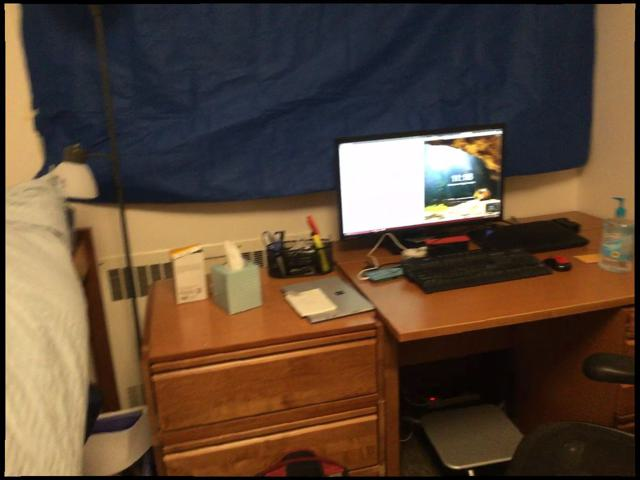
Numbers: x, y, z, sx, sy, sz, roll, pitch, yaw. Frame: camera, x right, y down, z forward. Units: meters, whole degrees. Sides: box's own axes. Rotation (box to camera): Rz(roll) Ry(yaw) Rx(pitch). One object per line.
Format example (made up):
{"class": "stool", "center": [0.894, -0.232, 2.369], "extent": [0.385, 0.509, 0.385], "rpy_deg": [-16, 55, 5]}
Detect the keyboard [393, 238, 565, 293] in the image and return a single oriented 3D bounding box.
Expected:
{"class": "keyboard", "center": [0.539, 0.080, 1.990], "extent": [0.509, 0.060, 0.260], "rpy_deg": [-5, 18, -15]}

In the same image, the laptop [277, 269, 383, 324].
{"class": "laptop", "center": [0.020, 0.170, 1.830], "extent": [0.250, 0.020, 0.340], "rpy_deg": [-5, 18, -15]}

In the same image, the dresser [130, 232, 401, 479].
{"class": "dresser", "center": [-0.230, 0.511, 2.040], "extent": [0.729, 0.822, 0.840], "rpy_deg": [-5, 18, -15]}
